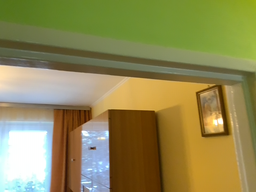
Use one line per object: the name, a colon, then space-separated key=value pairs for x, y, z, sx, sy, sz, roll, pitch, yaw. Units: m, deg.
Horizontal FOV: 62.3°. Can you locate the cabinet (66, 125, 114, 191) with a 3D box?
cabinet: x=-0.510 y=0.770 z=2.610 sx=0.360 sy=0.720 sz=0.970 roll=4 pitch=-14 yaw=-23
